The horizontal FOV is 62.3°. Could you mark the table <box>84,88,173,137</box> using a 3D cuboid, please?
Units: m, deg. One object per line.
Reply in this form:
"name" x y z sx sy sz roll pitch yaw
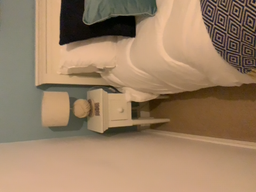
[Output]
"table" 0.000 0.120 1.810 0.400 0.640 0.340 -3 88 61
